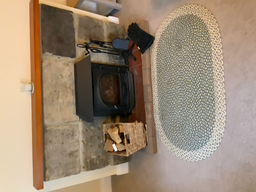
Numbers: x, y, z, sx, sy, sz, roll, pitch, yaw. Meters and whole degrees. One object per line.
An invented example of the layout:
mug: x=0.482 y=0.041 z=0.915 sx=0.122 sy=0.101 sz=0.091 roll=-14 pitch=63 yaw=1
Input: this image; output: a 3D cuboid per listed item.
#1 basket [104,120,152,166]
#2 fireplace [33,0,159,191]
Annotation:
basket: x=0.000 y=0.420 z=1.990 sx=0.270 sy=0.340 sz=0.360 roll=-10 pitch=81 yaw=52
fireplace: x=-0.280 y=-0.050 z=1.870 sx=0.490 sy=0.900 sz=1.600 roll=-10 pitch=81 yaw=52
